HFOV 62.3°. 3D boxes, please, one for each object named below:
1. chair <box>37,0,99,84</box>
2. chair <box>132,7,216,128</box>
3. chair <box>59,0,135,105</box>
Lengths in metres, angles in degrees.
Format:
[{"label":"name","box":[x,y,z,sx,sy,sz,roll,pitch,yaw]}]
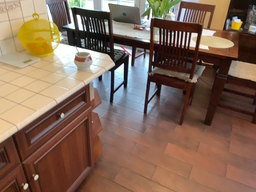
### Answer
[{"label":"chair","box":[-0.750,-0.770,2.820,0.540,1.010,0.480,18,35,22]},{"label":"chair","box":[0.440,-0.300,2.170,0.560,1.010,0.530,17,34,20]},{"label":"chair","box":[-0.330,-0.530,2.480,0.580,1.010,0.540,17,34,20]}]
